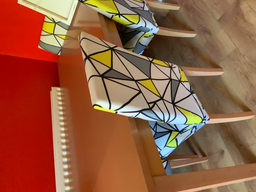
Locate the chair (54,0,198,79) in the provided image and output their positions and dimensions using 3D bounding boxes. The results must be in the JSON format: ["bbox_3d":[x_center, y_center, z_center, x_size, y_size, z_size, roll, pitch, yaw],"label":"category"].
[{"bbox_3d":[-0.040,-0.520,1.600,0.500,0.870,0.470,-55,42,41],"label":"chair"}]
